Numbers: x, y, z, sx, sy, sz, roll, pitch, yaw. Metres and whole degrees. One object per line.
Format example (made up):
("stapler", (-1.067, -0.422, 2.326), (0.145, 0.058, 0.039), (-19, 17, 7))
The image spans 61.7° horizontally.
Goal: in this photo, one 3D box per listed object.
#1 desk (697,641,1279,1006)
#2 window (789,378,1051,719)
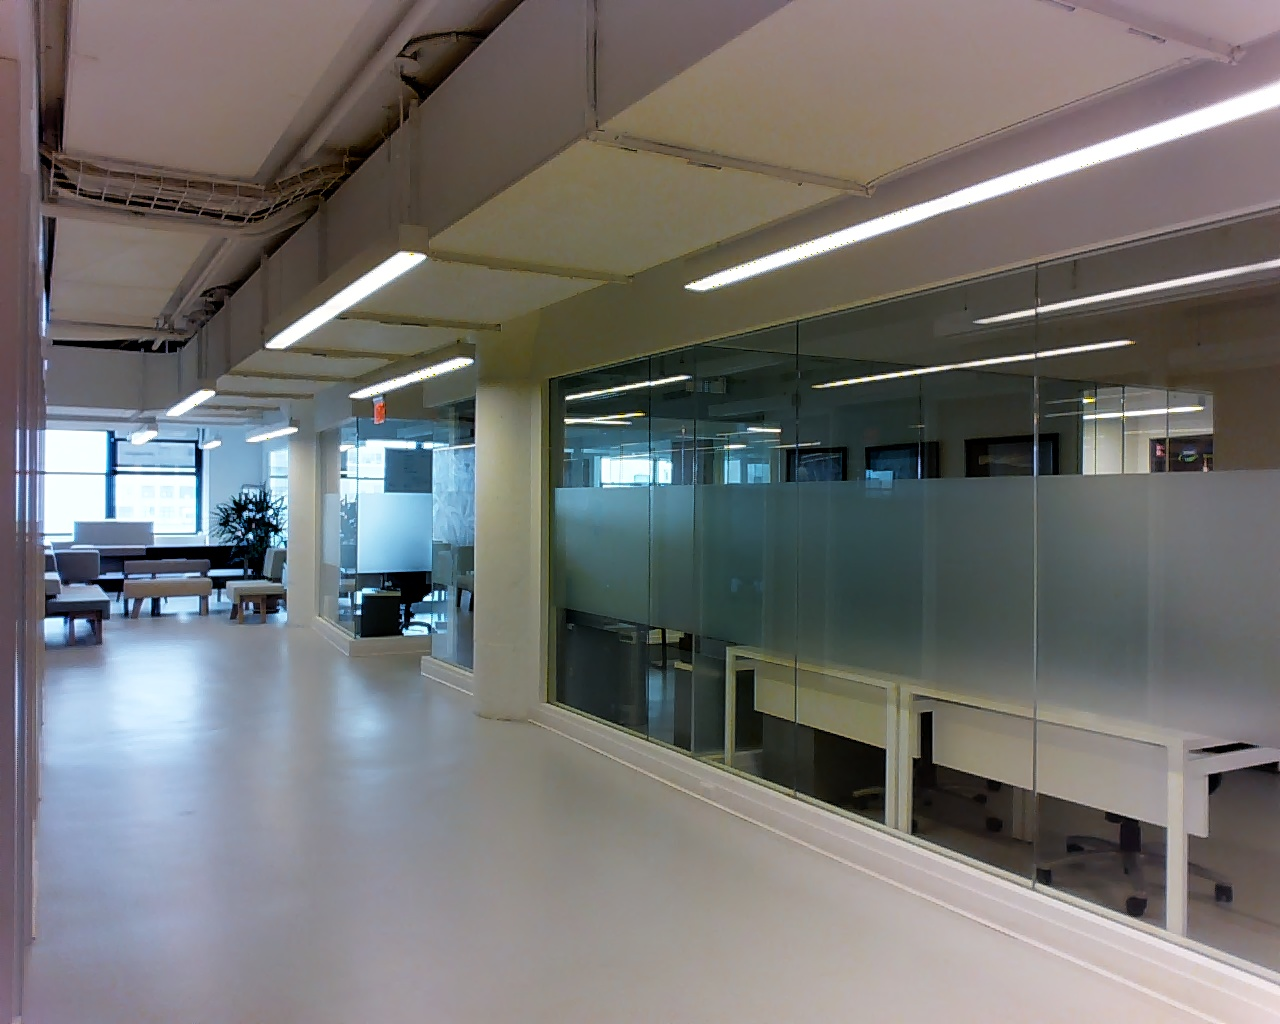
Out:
("desk", (1.330, 1.090, 4.560), (0.810, 0.760, 2.710), (1, 0, -30))
("window", (2.170, 0.260, 8.750), (0.400, 2.411, 2.490), (1, 0, -30))
